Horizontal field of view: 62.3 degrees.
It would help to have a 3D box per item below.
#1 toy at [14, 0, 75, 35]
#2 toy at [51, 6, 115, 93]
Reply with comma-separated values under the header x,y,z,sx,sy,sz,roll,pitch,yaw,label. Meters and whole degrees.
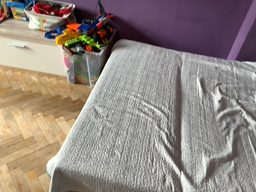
x,y,z,sx,sy,sz,roll,pitch,yaw,label
-0.770,-0.790,2.030,0.360,0.180,0.430,12,40,4,toy
-0.400,-0.470,2.090,0.420,0.560,0.620,8,40,0,toy
